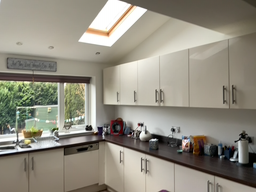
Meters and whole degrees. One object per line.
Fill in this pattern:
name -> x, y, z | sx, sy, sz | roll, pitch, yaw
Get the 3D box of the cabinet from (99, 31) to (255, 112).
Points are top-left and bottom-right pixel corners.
cabinet -> 0.480, -0.220, 3.100 | 0.320, 0.740, 3.110 | 0, 0, -37
